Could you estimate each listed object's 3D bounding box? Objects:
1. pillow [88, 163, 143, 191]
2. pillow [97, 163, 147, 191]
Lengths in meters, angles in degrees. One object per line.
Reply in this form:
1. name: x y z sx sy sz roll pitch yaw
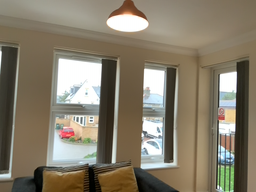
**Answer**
1. pillow: -0.150 0.990 2.380 0.510 0.430 0.170 3 28 -23
2. pillow: -0.080 0.980 2.270 0.450 0.420 0.160 -2 30 -32
